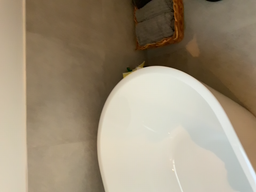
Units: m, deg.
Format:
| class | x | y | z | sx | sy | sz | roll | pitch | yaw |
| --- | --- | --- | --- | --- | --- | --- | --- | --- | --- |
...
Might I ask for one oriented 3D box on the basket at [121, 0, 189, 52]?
| class | x | y | z | sx | sy | sz | roll | pitch | yaw |
| --- | --- | --- | --- | --- | --- | --- | --- | --- | --- |
| basket | 0.180 | -0.650 | 1.530 | 0.380 | 0.270 | 0.540 | -8 | 83 | 46 |
